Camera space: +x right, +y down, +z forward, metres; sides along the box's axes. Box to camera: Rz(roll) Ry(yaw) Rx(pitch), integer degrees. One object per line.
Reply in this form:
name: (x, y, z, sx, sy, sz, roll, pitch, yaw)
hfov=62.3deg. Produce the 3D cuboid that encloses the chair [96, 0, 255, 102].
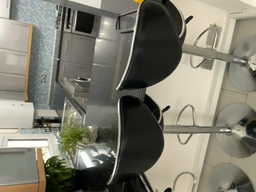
chair: (0.430, -0.230, 1.250, 0.430, 1.100, 0.420, 24, 107, 61)
